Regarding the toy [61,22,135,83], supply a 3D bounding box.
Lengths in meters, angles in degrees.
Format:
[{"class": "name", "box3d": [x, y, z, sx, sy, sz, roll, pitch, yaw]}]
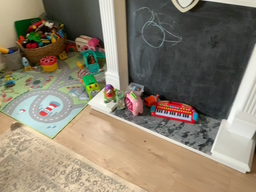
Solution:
[{"class": "toy", "box3d": [-0.320, -0.520, 2.450, 0.640, 0.390, 0.490, 18, 44, 21]}]

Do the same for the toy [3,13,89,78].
[{"class": "toy", "box3d": [-0.950, -0.640, 2.580, 0.590, 0.420, 0.680, 18, 44, 21]}]
